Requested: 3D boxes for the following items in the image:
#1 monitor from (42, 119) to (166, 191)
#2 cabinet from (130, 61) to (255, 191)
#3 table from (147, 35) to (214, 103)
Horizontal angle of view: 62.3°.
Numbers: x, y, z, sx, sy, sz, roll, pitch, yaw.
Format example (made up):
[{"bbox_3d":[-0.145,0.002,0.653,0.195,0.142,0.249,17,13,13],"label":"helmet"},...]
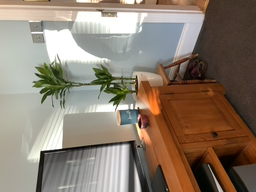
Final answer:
[{"bbox_3d":[-0.120,0.540,1.150,0.070,0.650,0.920,97,164,-45],"label":"monitor"},{"bbox_3d":[0.530,0.540,1.210,1.760,0.640,0.530,-106,18,-44],"label":"cabinet"},{"bbox_3d":[0.450,-0.260,1.990,0.450,0.370,0.440,-106,18,-44],"label":"table"}]
